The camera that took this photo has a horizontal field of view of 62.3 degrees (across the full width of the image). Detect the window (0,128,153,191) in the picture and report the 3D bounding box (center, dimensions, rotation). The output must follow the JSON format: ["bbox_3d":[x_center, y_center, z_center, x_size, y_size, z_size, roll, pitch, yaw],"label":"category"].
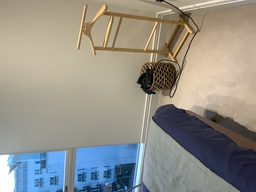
[{"bbox_3d":[-0.930,1.030,2.470,0.270,2.500,1.170,-153,67,-65],"label":"window"}]
